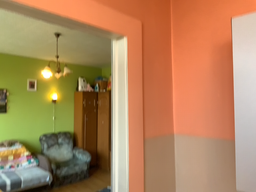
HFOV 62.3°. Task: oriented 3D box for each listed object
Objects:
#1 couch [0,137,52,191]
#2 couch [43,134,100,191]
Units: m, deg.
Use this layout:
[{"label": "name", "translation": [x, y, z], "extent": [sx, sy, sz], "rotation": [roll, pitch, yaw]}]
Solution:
[{"label": "couch", "translation": [-2.340, 1.510, 4.620], "extent": [1.090, 0.990, 0.860], "rotation": [1, -2, -36]}, {"label": "couch", "translation": [-1.380, 1.530, 5.150], "extent": [1.090, 0.990, 0.860], "rotation": [1, -2, -36]}]
